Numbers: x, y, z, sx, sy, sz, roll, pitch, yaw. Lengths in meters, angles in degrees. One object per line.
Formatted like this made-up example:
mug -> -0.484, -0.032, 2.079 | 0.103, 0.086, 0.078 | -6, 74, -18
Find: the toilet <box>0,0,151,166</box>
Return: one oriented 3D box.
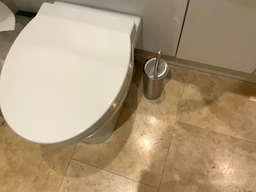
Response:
toilet -> -0.160, -0.020, 0.820 | 0.380, 0.460, 0.450 | 14, 72, 9
